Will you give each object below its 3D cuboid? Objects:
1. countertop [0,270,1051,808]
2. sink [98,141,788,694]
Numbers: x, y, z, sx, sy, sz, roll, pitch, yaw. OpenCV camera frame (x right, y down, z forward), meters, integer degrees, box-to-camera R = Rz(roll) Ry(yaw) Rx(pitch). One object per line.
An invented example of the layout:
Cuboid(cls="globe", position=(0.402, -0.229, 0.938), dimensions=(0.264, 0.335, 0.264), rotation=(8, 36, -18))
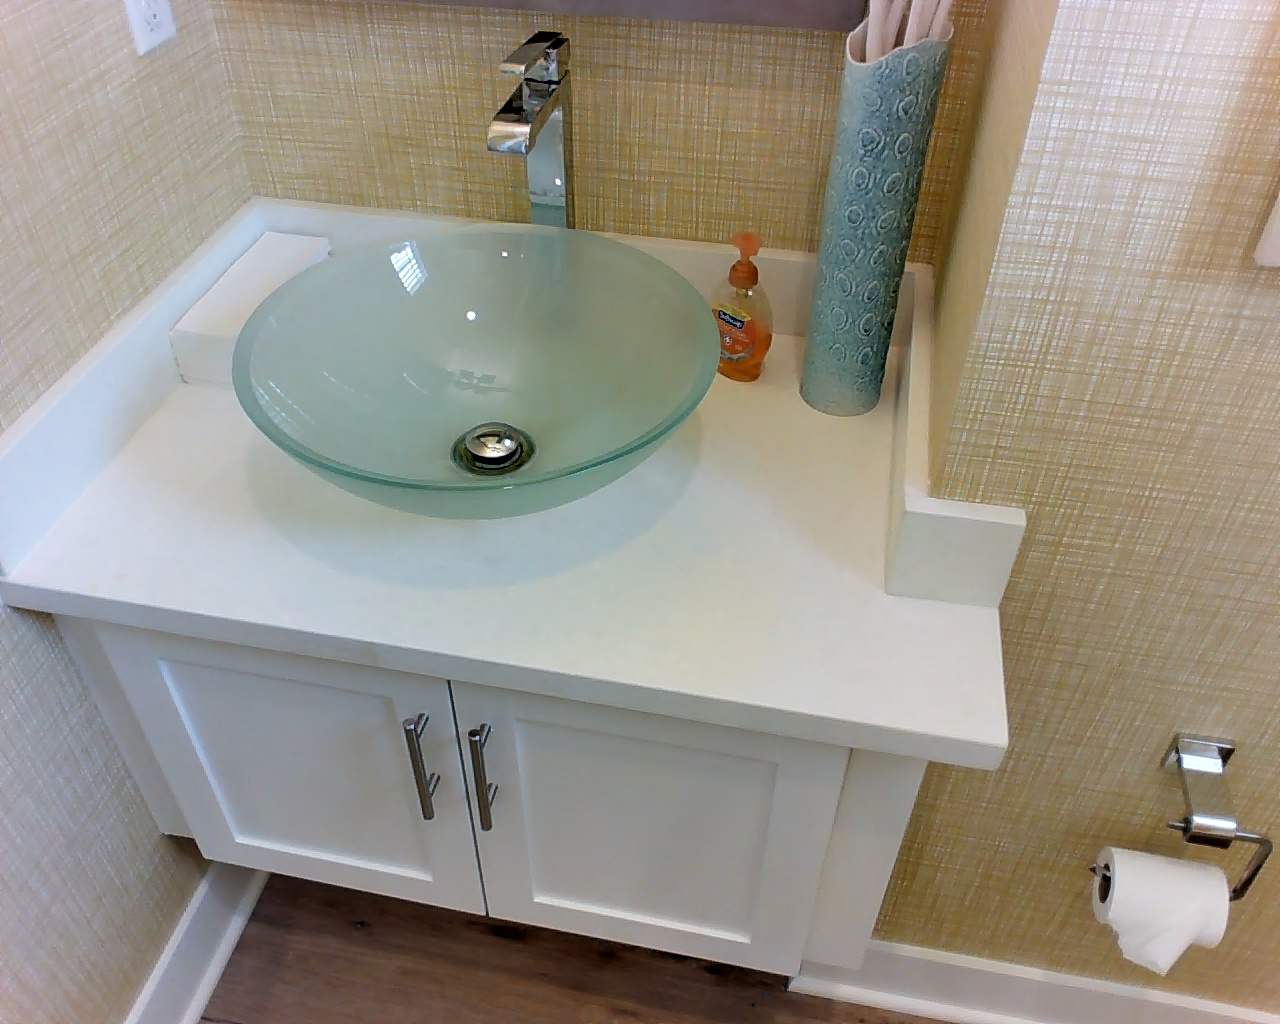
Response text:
Cuboid(cls="countertop", position=(-0.080, -0.040, 1.120), dimensions=(0.930, 0.030, 0.600), rotation=(8, 42, 8))
Cuboid(cls="sink", position=(-0.130, -0.140, 1.070), dimensions=(0.480, 0.190, 0.570), rotation=(8, 42, 8))
